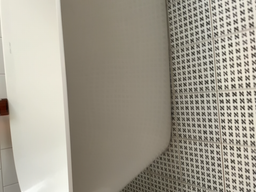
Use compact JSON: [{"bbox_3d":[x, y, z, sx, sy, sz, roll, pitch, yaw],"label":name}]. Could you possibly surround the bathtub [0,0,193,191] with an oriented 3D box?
[{"bbox_3d":[-0.240,-0.290,1.000,0.780,0.550,1.690,-4,91,48],"label":"bathtub"}]
